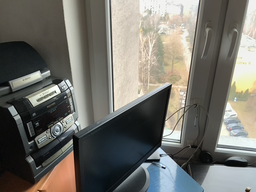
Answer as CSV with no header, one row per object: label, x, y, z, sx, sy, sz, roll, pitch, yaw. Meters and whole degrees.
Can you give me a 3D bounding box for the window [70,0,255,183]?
window,0.540,-0.260,0.870,1.590,1.520,0.110,5,26,10
